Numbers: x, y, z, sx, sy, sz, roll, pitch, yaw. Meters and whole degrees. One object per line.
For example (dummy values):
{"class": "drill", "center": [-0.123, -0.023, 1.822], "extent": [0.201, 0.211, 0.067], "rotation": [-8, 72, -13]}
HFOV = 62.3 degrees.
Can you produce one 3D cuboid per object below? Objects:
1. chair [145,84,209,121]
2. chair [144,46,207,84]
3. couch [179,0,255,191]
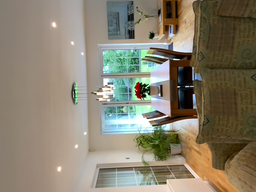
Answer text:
{"class": "chair", "center": [0.850, 0.110, 3.780], "extent": [0.420, 1.020, 0.580], "rotation": [170, 99, -87]}
{"class": "chair", "center": [0.830, -0.540, 3.820], "extent": [0.430, 1.010, 0.590], "rotation": [134, 134, -85]}
{"class": "couch", "center": [1.020, -0.240, 1.600], "extent": [1.150, 0.910, 2.010], "rotation": [-169, 77, -87]}
